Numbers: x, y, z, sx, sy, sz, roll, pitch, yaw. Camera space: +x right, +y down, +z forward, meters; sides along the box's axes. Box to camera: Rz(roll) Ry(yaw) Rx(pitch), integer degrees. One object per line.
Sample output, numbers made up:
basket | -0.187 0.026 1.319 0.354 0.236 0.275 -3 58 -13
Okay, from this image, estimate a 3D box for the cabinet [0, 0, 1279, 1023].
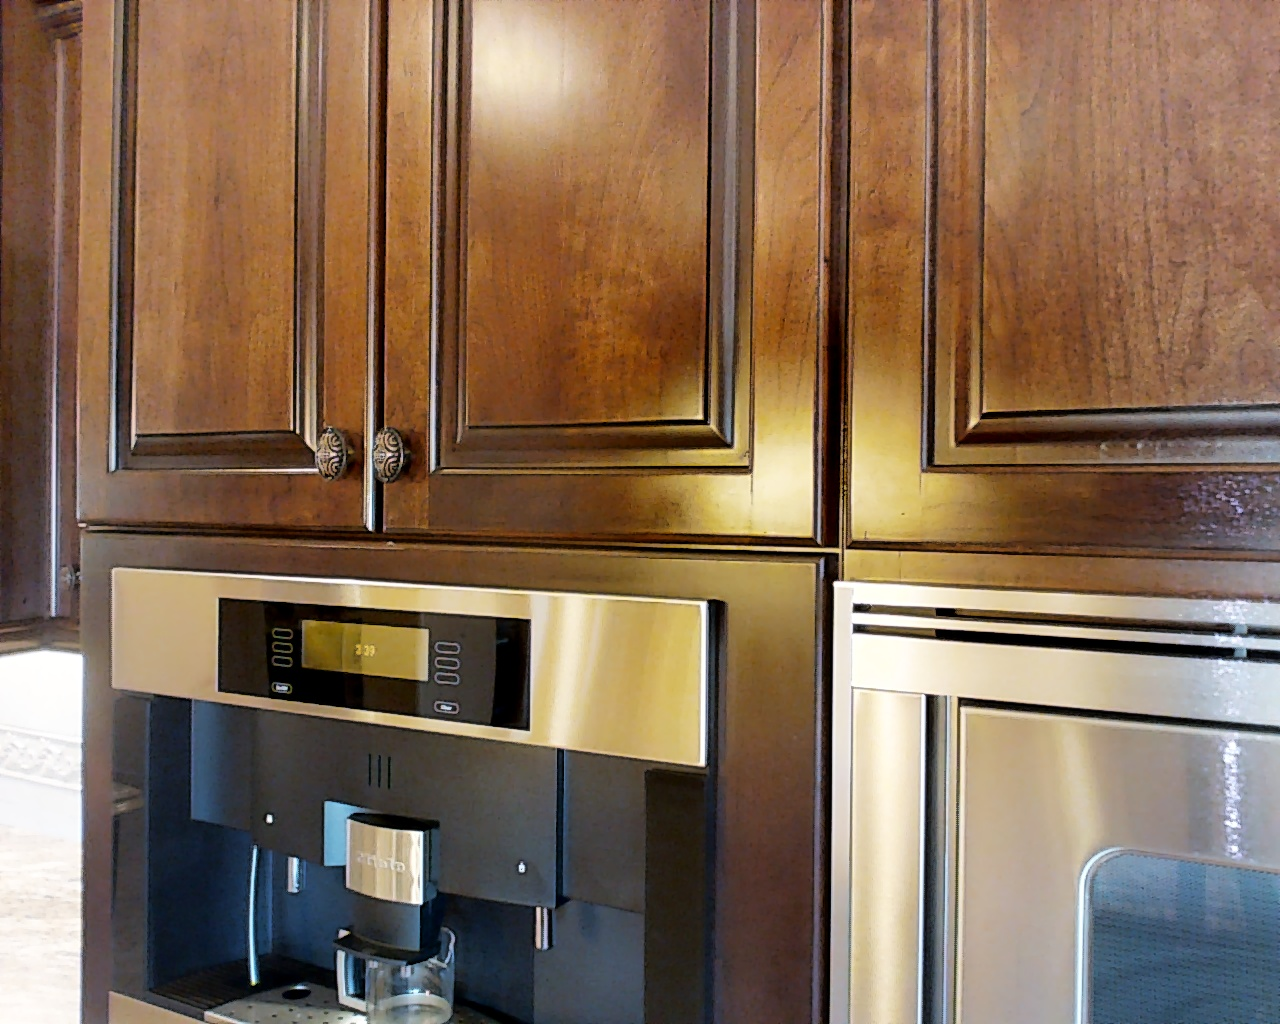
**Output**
cabinet | -0.850 0.080 0.970 3.790 2.840 1.610 1 0 27
